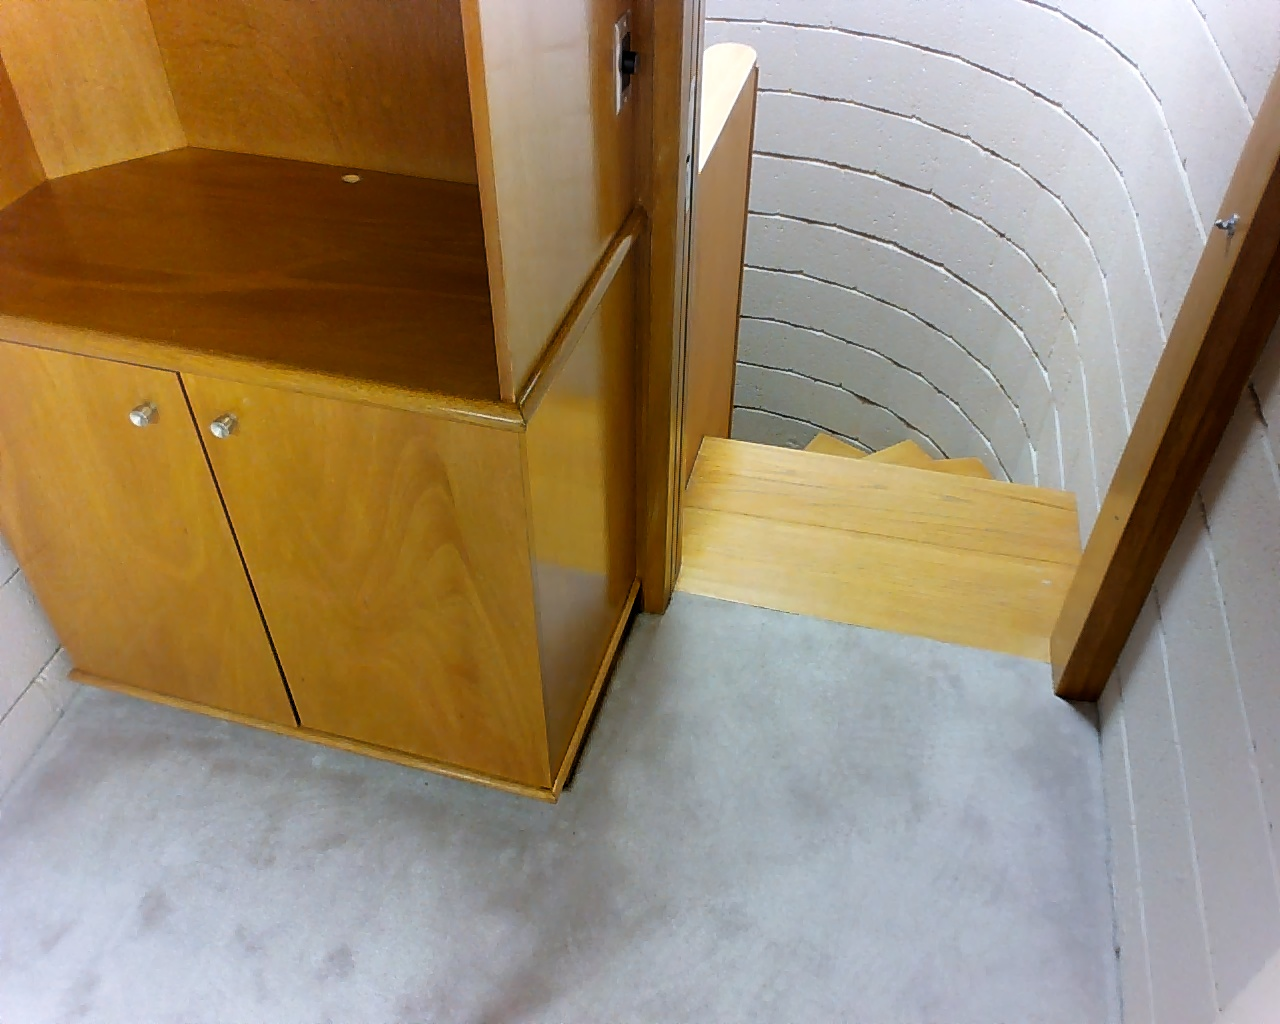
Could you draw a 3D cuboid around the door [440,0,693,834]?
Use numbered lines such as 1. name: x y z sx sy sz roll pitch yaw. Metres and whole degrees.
1. door: -0.050 -0.440 1.260 0.070 2.130 0.580 12 44 12
